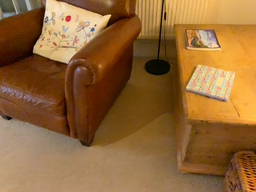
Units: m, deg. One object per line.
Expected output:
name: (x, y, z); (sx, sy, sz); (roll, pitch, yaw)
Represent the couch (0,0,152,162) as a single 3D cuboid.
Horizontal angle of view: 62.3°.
couch: (-0.440, -0.310, 1.510); (0.940, 0.830, 0.960); (14, 43, 18)
